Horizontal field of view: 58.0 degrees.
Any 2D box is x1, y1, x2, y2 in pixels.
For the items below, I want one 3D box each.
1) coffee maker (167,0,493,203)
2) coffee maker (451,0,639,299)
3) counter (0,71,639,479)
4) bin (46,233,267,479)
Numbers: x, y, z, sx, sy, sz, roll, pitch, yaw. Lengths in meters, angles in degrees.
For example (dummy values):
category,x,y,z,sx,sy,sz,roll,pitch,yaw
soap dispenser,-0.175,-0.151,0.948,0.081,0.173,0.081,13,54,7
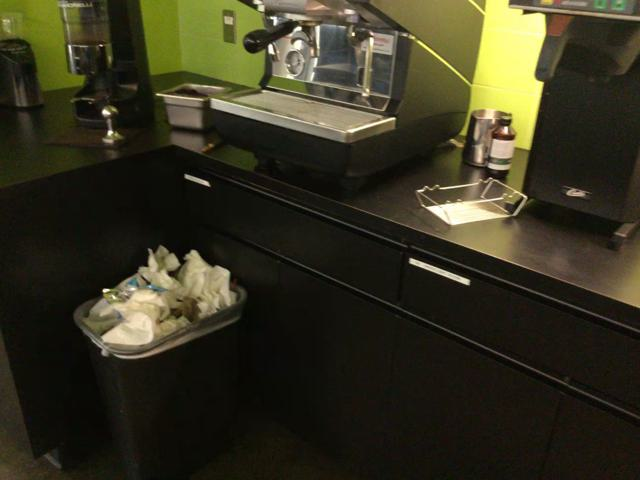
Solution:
category,x,y,z,sx,sy,sz,roll,pitch,yaw
coffee maker,0.040,-0.450,1.290,0.440,0.530,0.580,19,29,37
coffee maker,0.500,-0.220,1.020,0.310,0.450,0.430,19,29,37
counter,0.950,0.240,0.540,4.560,0.310,1.160,19,29,37
bin,-0.410,0.360,1.560,0.310,0.610,0.420,19,29,37
